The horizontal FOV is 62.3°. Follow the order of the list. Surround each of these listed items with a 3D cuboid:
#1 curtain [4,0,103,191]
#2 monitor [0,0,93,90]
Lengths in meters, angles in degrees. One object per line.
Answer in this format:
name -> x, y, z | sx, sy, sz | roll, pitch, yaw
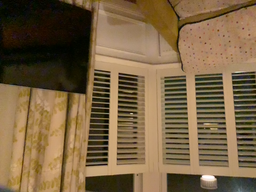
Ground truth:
curtain -> -0.570, 0.400, 1.670 | 0.510, 3.200, 0.390 | -1, 169, 14
monitor -> -0.720, -0.400, 1.250 | 1.060, 0.640, 0.050 | 5, 167, -30
